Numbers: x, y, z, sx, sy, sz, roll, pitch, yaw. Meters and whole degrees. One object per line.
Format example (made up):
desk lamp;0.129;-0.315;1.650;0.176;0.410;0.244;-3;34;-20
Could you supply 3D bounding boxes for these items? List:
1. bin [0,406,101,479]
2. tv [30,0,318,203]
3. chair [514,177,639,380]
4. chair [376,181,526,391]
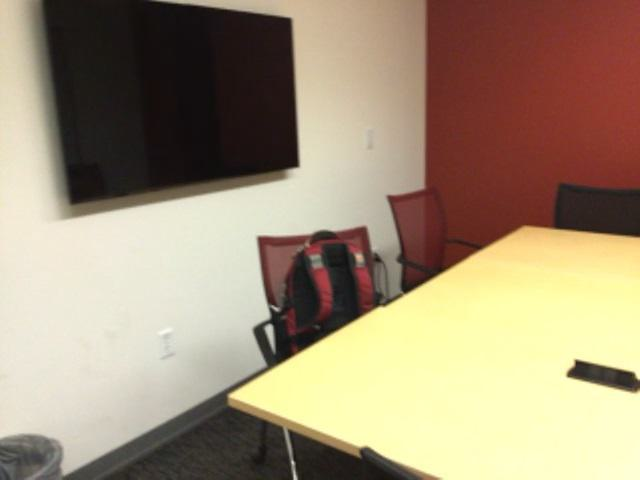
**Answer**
bin;-1.010;0.850;1.920;0.280;0.360;0.450;8;17;42
tv;-0.490;-0.600;2.370;0.240;0.700;1.180;7;16;38
chair;1.360;0.150;2.900;0.600;0.860;0.420;8;17;42
chair;0.690;0.190;3.010;0.520;0.900;0.580;8;17;42
